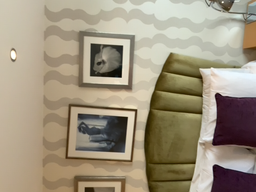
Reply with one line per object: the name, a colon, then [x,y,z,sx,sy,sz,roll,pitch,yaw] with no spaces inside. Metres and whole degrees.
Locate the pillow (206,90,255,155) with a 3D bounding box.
pillow: [0.810,0.190,1.550,0.160,0.380,0.420,23,106,61]

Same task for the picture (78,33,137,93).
picture: [-0.180,-0.280,1.850,0.040,0.480,0.480,-109,23,-78]

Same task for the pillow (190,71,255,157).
pillow: [0.810,0.120,1.750,0.240,0.510,0.620,17,106,61]
